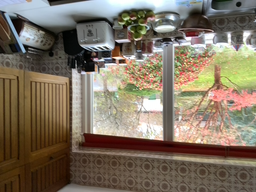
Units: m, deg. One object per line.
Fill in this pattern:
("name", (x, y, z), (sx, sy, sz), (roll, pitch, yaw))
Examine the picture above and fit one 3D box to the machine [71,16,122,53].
("machine", (-0.270, -0.530, 1.880), (0.350, 0.210, 0.300), (0, -179, 22))
